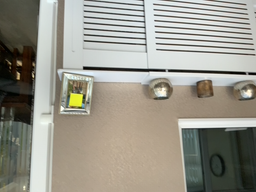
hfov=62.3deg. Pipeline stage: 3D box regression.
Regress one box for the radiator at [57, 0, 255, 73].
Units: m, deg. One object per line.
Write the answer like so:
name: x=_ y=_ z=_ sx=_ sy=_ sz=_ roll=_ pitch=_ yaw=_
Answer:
radiator: x=0.520 y=-0.560 z=1.510 sx=1.930 sy=0.770 sz=0.120 roll=0 pitch=168 yaw=-11

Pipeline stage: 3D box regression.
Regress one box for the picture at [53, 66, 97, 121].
picture: x=-0.320 y=-0.010 z=1.300 sx=0.200 sy=0.280 sz=0.140 roll=10 pitch=165 yaw=-12
